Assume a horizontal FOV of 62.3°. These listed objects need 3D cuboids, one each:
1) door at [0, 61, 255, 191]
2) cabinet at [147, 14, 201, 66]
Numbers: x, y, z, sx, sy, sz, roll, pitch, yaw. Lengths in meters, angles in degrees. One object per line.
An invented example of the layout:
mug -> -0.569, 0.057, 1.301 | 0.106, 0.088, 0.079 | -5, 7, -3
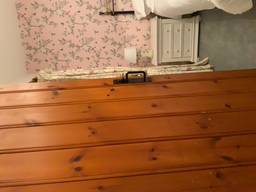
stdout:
door -> 0.230, 0.110, 0.870 | 0.810, 1.910, 0.070 | -99, 7, -53
cabinet -> 0.640, -0.820, 3.090 | 0.500, 0.630, 0.650 | -106, 13, -72
